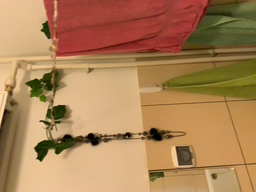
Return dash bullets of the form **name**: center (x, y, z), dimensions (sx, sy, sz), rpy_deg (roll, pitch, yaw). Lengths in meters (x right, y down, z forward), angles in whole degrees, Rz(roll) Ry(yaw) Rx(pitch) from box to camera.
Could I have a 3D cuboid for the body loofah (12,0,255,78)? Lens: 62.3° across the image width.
- **body loofah**: center (0.020, -0.260, 0.640), dimensions (0.490, 0.590, 0.170), rpy_deg (94, 173, -65)
